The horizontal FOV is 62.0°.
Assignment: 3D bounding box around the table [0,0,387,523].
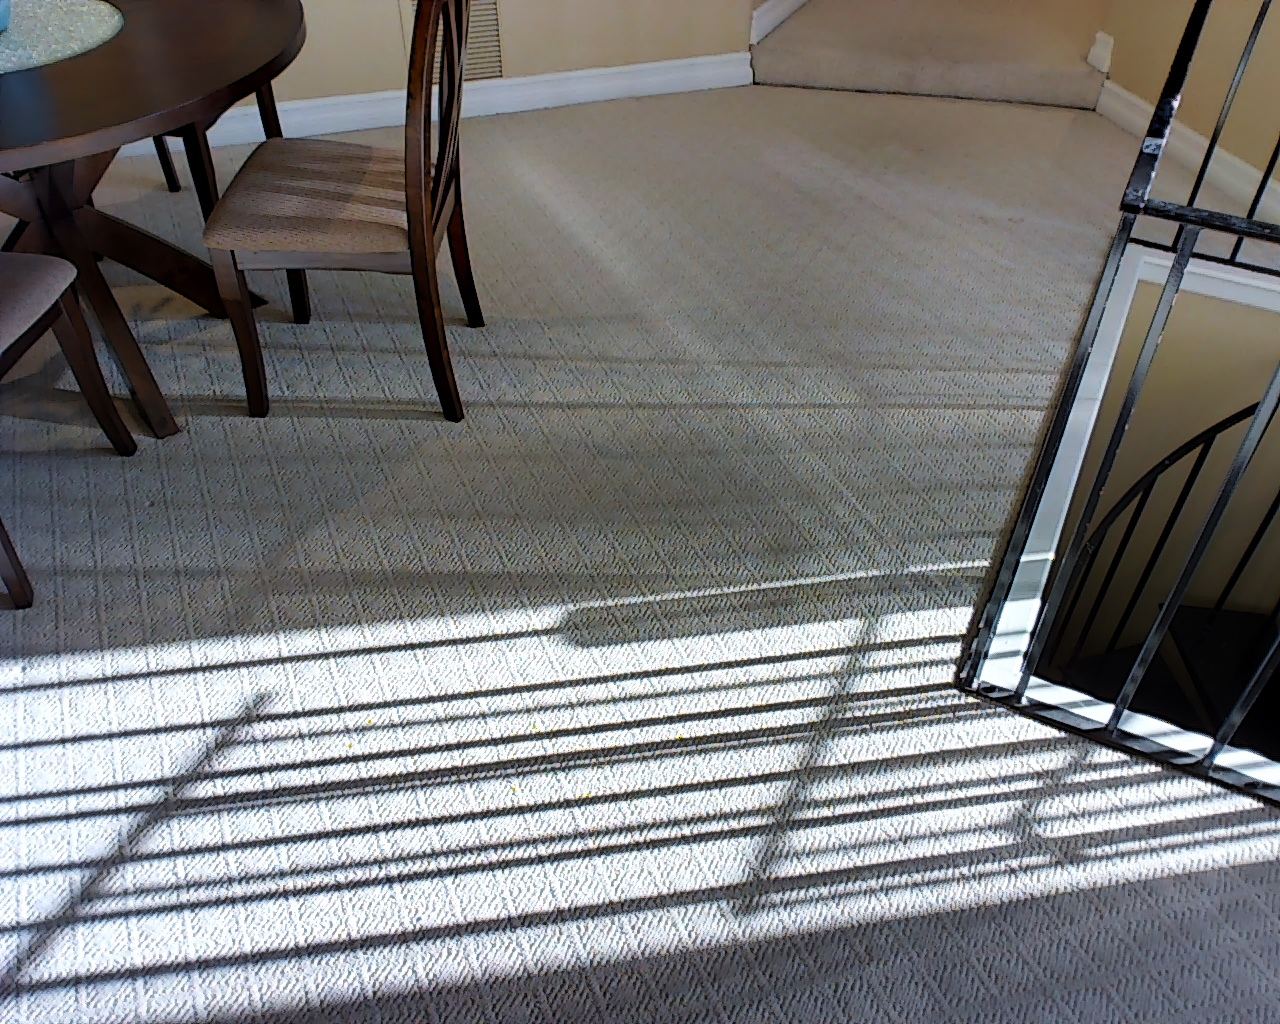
[{"bbox_3d":[-1.260,-0.640,2.290,1.170,0.720,1.130,-11,43,-13],"label":"table"}]
